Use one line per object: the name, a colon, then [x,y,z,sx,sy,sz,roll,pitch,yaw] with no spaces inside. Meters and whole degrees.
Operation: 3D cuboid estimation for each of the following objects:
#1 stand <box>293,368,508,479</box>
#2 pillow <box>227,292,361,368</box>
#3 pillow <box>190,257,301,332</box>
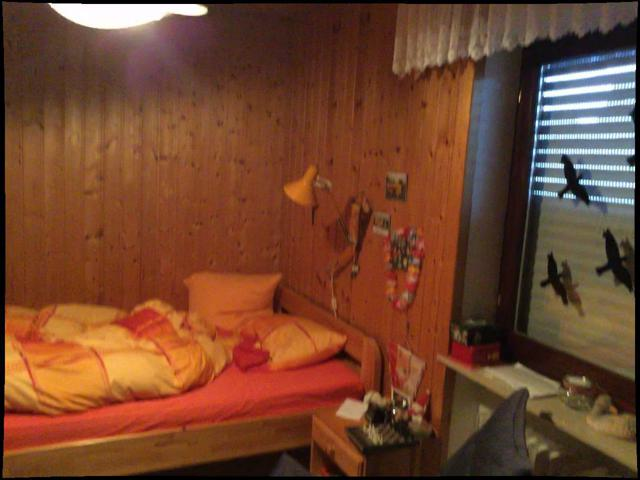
stand: [0.300,0.961,2.470,0.609,0.541,0.690,-1,9,-23]
pillow: [-0.180,0.480,3.270,0.510,0.160,0.790,-1,10,-23]
pillow: [-0.490,0.330,3.700,0.599,0.350,0.440,-1,9,-23]
